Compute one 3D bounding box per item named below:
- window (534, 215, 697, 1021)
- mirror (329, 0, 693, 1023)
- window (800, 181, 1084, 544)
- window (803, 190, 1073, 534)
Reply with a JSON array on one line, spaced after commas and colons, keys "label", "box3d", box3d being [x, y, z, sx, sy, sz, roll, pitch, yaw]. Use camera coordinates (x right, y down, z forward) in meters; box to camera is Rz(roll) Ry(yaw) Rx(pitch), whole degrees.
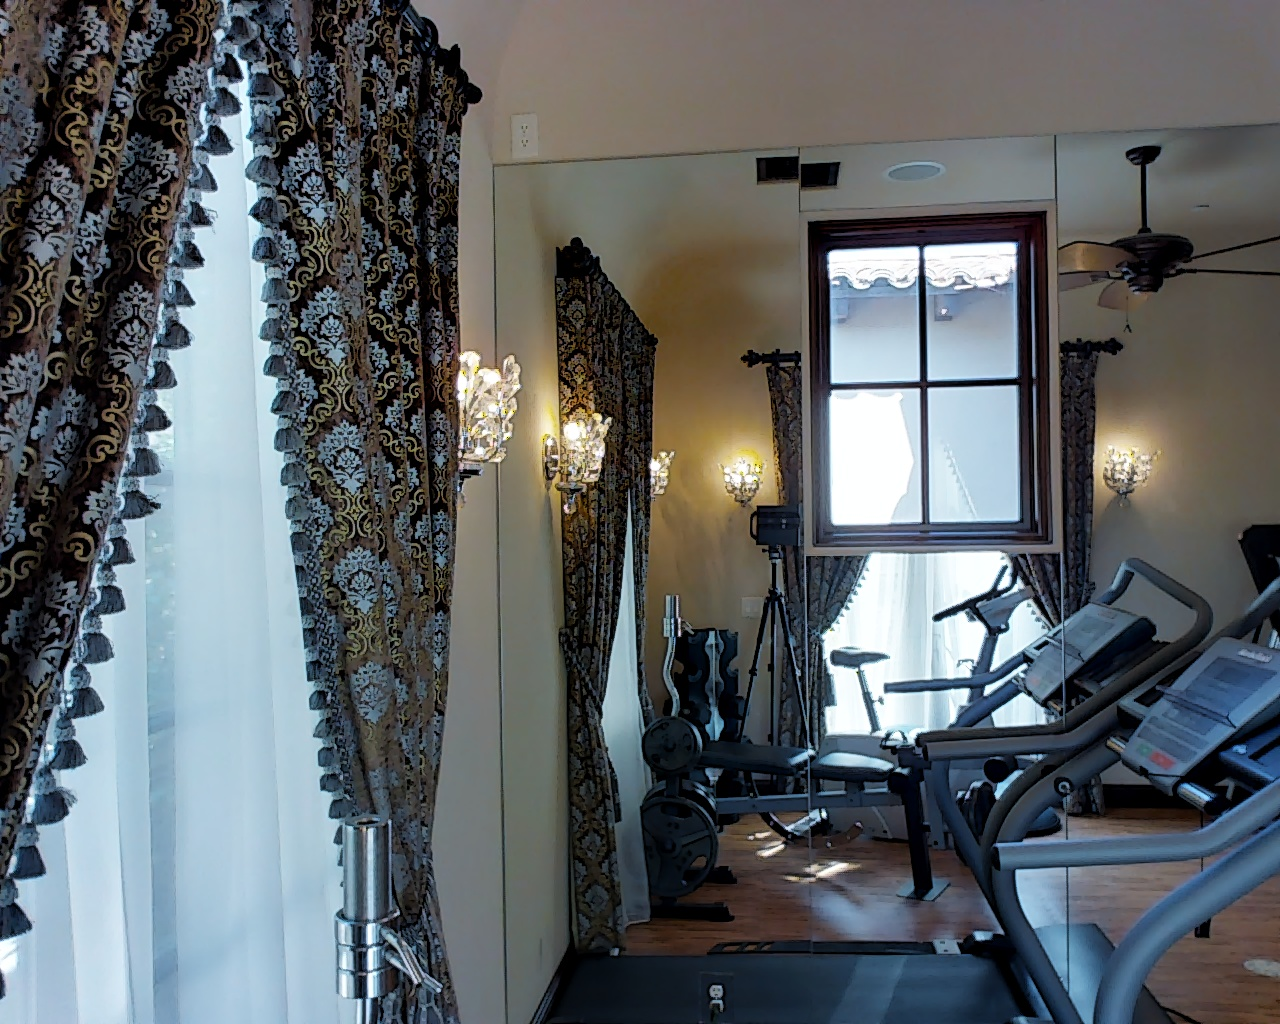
[{"label": "window", "box3d": [-0.030, 0.360, 4.650, 0.290, 2.680, 2.150, -2, -1, 8]}, {"label": "mirror", "box3d": [-0.210, 0.210, 4.820, 0.400, 3.030, 4.520, -2, -1, 8]}, {"label": "window", "box3d": [0.780, -0.380, 2.800, 0.690, 0.910, 0.040, -2, -1, 8]}, {"label": "window", "box3d": [0.790, -0.380, 2.930, 0.650, 0.860, 0.320, -2, -1, 8]}]
